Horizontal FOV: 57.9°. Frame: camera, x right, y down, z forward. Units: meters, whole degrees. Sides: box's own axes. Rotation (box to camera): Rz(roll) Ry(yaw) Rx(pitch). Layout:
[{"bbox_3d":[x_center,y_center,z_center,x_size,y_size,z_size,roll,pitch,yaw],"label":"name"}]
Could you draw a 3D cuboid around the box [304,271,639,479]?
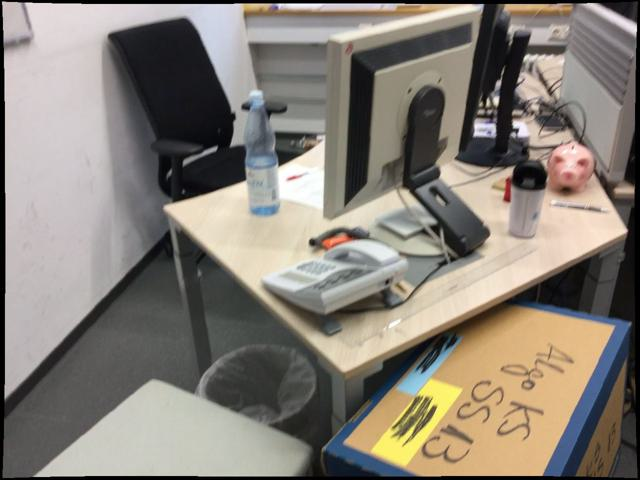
[{"bbox_3d":[0.290,0.430,1.030,0.539,0.410,0.700,3,29,11],"label":"box"}]
